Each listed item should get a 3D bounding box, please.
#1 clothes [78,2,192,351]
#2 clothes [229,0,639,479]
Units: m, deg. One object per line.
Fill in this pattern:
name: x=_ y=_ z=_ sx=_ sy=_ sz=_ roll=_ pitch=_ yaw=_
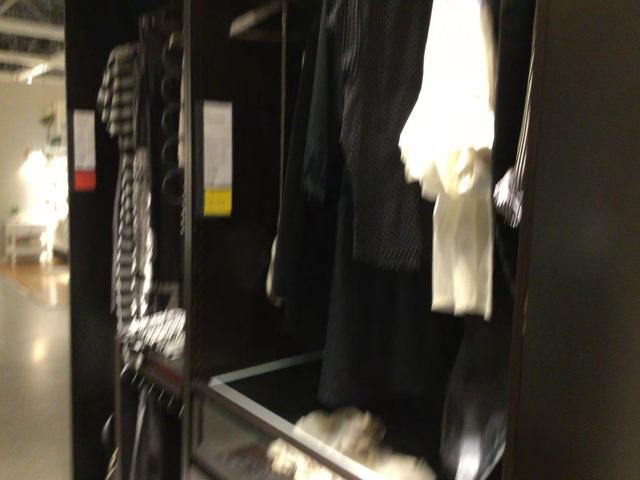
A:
clothes: x=-0.710 y=-0.220 z=2.180 sx=0.250 sy=1.170 sz=0.400 roll=-1 pitch=6 yaw=-40
clothes: x=0.200 y=-0.030 z=1.230 sx=0.400 sy=1.270 sz=0.750 roll=-1 pitch=6 yaw=-40
